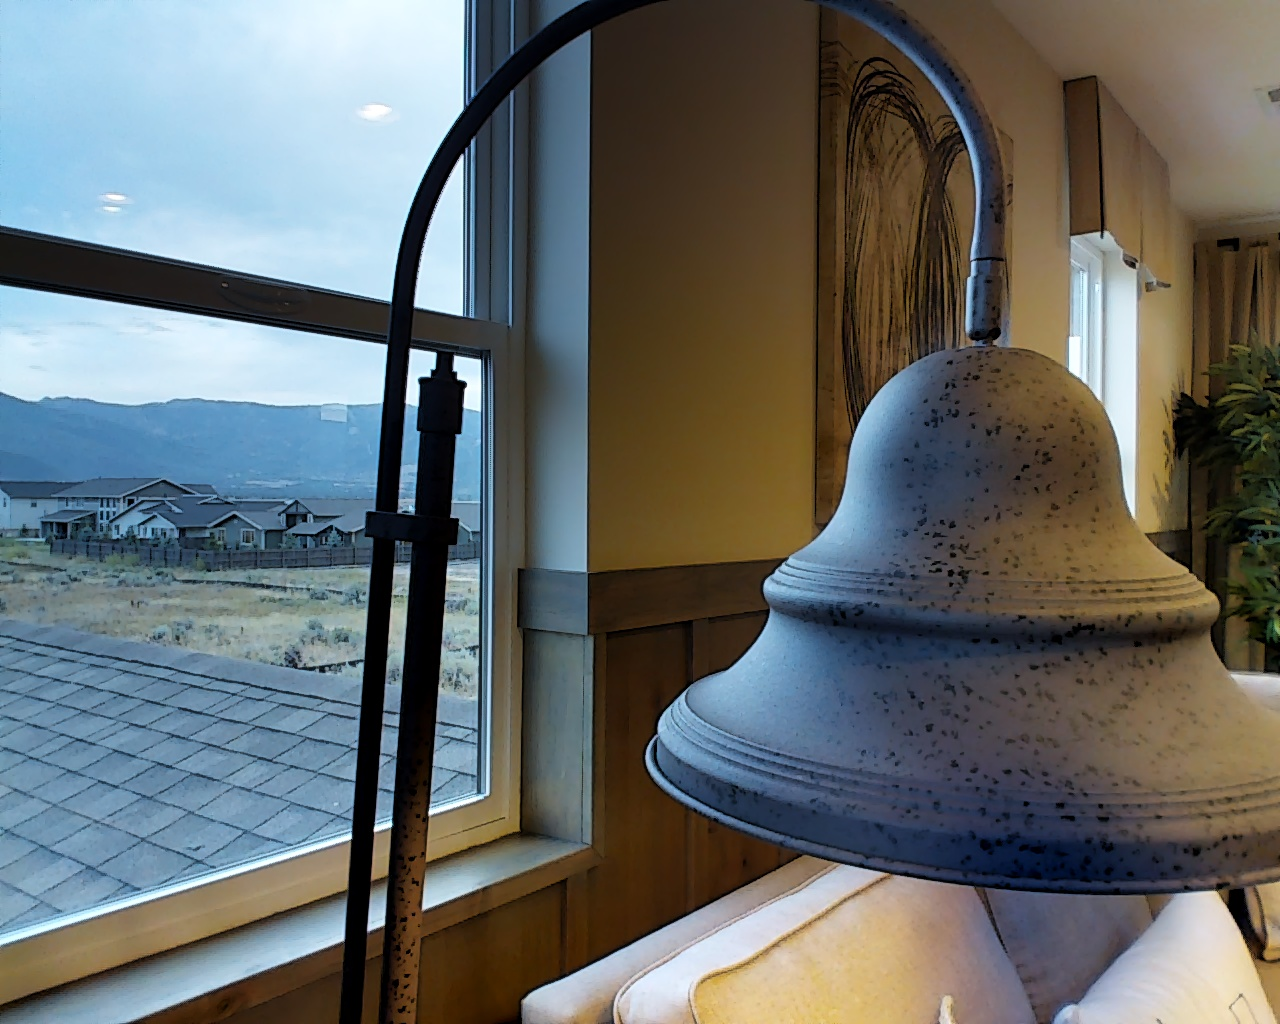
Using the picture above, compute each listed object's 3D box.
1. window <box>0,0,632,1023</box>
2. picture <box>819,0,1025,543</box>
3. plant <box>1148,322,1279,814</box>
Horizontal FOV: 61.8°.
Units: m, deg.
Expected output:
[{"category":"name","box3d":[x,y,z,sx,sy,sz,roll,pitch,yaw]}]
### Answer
[{"category":"window","box3d":[-0.370,-0.230,1.230,0.220,1.440,0.890,1,0,37]},{"category":"picture","box3d":[0.690,-0.490,2.470,0.060,1.100,1.050,1,0,37]},{"category":"plant","box3d":[2.600,0.210,4.320,0.840,1.840,0.750,1,0,37]}]
